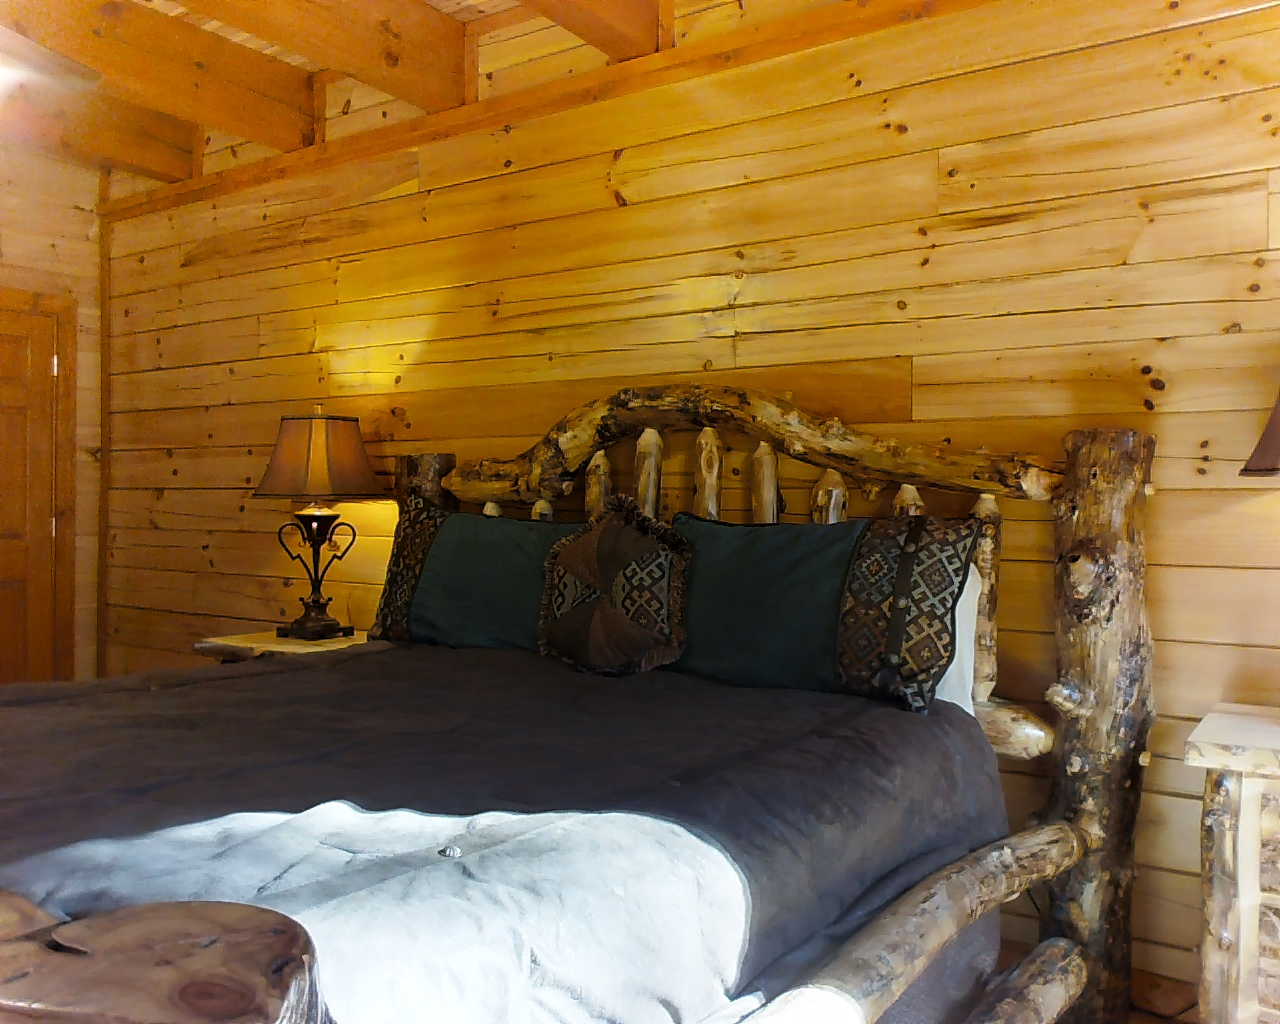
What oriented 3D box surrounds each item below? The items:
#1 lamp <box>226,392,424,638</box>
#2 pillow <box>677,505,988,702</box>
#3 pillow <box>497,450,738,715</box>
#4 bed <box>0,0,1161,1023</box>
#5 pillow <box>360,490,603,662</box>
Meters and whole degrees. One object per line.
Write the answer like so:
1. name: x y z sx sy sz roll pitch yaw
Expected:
1. lamp: -1.150 0.010 3.940 0.550 0.820 0.450 0 0 34
2. pillow: 0.440 0.190 2.540 0.680 0.410 0.250 0 0 35
3. pillow: -0.070 0.170 2.830 0.500 0.540 0.180 21 12 30
4. bed: -0.500 0.370 2.190 2.449 1.581 2.590 0 0 34
5. pillow: -0.470 0.170 3.160 0.690 0.460 0.260 0 0 29
